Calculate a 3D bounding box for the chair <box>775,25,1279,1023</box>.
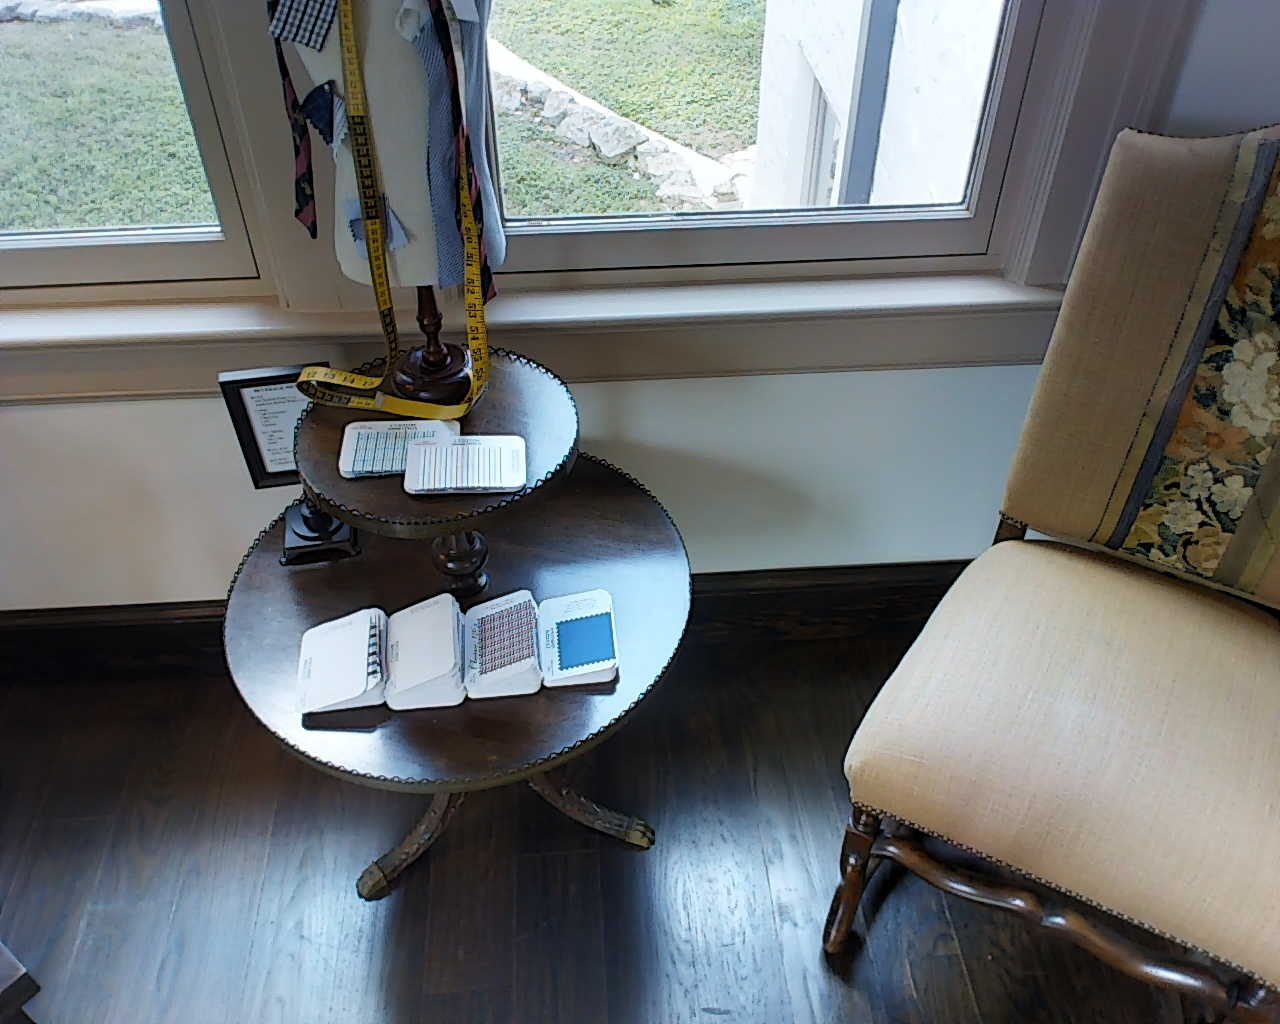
[{"bbox_3d":[0.610,0.120,1.270,0.590,1.050,0.640,22,47,22],"label":"chair"}]
